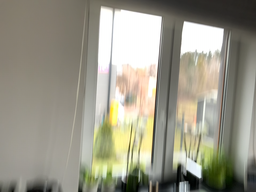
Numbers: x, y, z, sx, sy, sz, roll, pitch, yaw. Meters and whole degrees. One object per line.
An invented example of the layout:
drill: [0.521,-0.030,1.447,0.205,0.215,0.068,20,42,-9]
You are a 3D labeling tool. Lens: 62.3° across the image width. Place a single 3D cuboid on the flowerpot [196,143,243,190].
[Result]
flowerpot: [0.820,0.620,1.920,0.270,0.320,0.250,3,3,-20]
